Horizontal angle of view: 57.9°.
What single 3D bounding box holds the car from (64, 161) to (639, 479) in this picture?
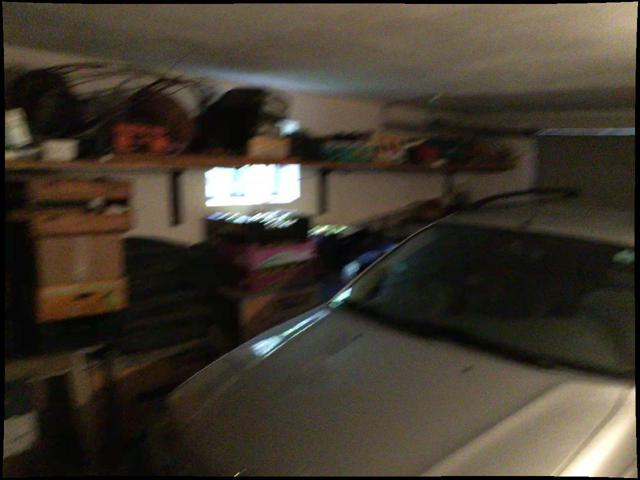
[{"bbox_3d":[1.029,0.521,2.830,3.678,1.632,1.979,-7,14,-44],"label":"car"}]
